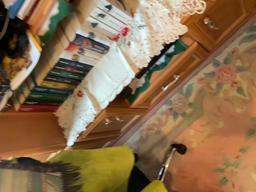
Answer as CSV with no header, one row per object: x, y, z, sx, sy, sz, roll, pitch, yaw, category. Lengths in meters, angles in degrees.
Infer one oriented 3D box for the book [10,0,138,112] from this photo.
-0.270,-0.200,0.990,0.620,0.230,0.200,-46,65,22,book
